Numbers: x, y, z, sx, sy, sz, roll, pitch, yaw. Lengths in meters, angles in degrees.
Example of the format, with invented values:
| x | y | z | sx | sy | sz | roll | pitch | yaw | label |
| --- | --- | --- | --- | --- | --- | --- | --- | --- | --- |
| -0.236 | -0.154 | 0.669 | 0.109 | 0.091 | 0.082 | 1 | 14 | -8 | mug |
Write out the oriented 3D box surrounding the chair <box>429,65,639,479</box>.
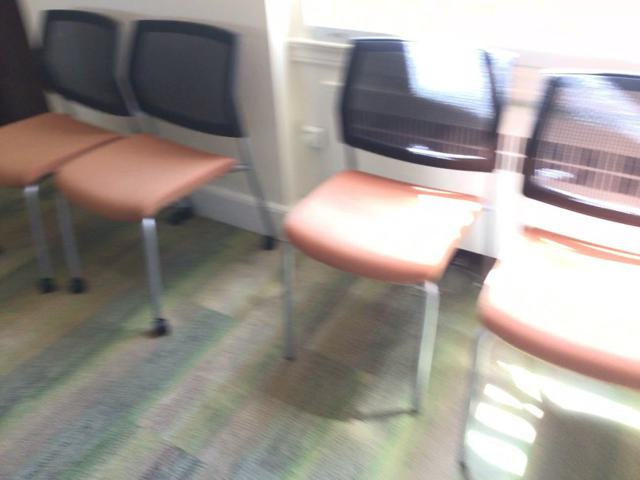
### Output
| x | y | z | sx | sy | sz | roll | pitch | yaw | label |
| --- | --- | --- | --- | --- | --- | --- | --- | --- | --- |
| 0.650 | 0.100 | 1.360 | 0.490 | 0.810 | 0.620 | 18 | 34 | 25 | chair |

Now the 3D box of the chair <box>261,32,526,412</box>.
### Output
| x | y | z | sx | sy | sz | roll | pitch | yaw | label |
| --- | --- | --- | --- | --- | --- | --- | --- | --- | --- |
| 0.210 | -0.090 | 1.690 | 0.490 | 0.840 | 0.610 | 16 | 34 | 22 | chair |
